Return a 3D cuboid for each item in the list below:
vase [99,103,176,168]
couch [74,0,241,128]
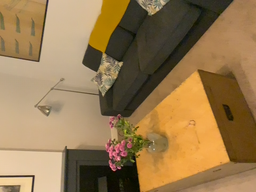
[{"bbox_3d":[0.050,0.360,1.800,0.440,0.450,0.390,-49,40,49],"label":"vase"},{"bbox_3d":[0.020,-0.630,2.700,2.600,0.800,1.000,-52,38,47],"label":"couch"}]
